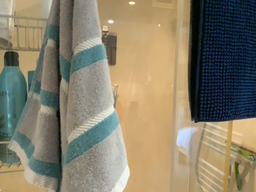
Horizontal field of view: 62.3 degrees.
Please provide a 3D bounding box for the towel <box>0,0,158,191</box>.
[{"bbox_3d":[-0.090,0.070,0.360,0.210,0.610,0.160,-1,8,-21],"label":"towel"}]

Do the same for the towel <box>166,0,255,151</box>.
[{"bbox_3d":[0.430,-0.140,0.630,0.590,0.500,0.180,-1,8,-19],"label":"towel"}]
